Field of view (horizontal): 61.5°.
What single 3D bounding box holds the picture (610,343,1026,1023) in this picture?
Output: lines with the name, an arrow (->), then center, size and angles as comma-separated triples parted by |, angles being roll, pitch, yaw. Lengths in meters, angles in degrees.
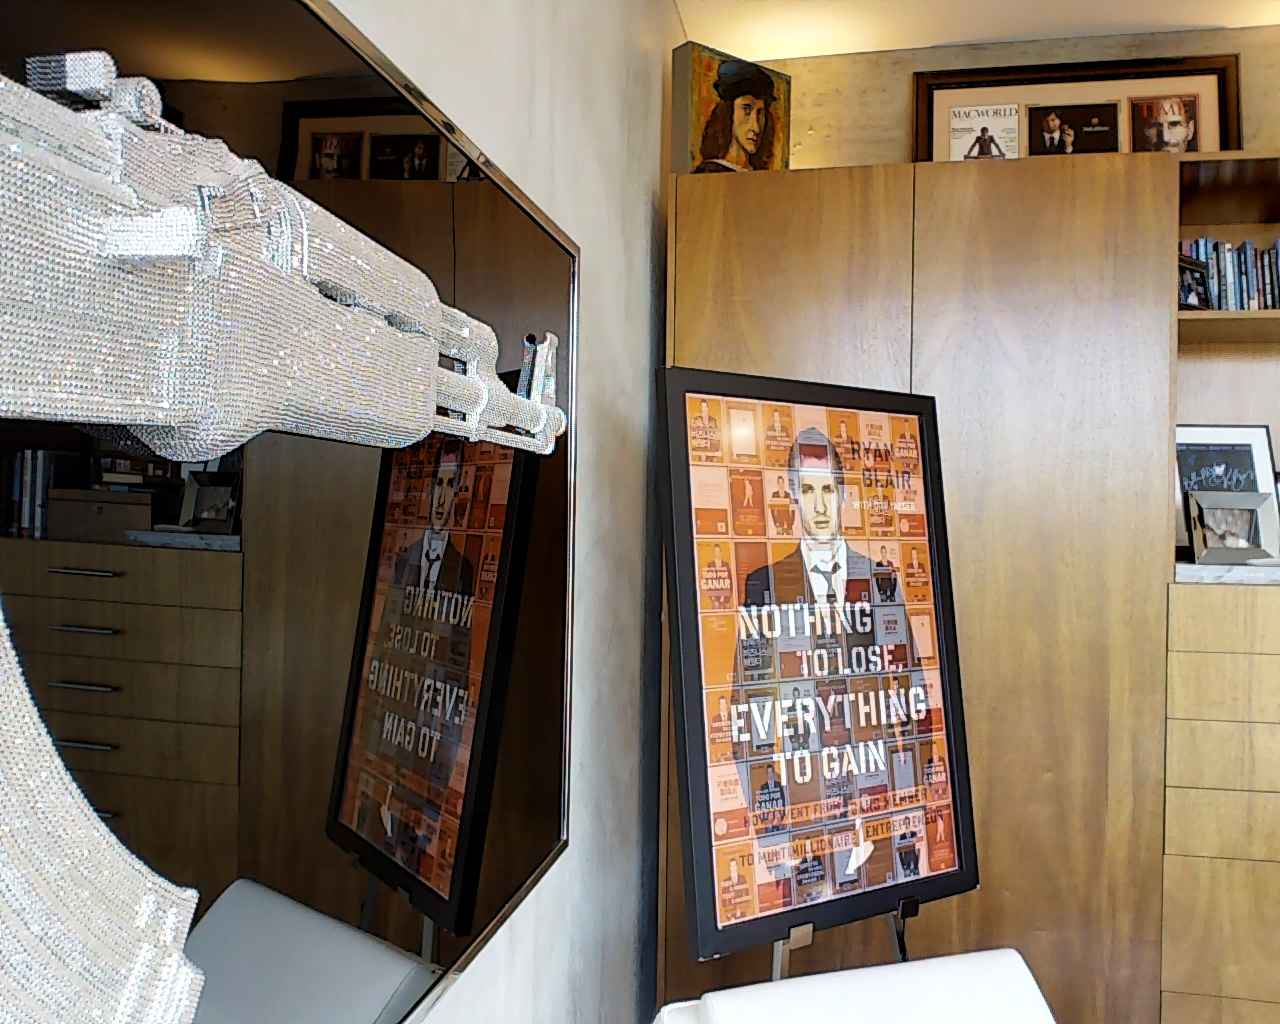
picture -> 0.350, 0.290, 2.000 | 0.730, 1.090, 0.230 | 3, 1, -34

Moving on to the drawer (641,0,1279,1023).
drawer -> 2.230, 0.110, 2.490 | 4.370, 2.720, 0.640 | 1, 0, 11
